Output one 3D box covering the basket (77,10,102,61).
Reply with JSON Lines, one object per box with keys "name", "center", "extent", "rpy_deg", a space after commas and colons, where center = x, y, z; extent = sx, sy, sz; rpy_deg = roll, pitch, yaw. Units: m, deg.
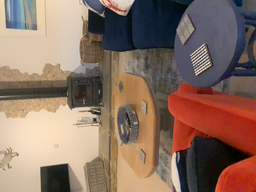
{"name": "basket", "center": [-0.730, -1.090, 3.940], "extent": [0.500, 0.350, 0.830], "rpy_deg": [-154, 64, -64]}
